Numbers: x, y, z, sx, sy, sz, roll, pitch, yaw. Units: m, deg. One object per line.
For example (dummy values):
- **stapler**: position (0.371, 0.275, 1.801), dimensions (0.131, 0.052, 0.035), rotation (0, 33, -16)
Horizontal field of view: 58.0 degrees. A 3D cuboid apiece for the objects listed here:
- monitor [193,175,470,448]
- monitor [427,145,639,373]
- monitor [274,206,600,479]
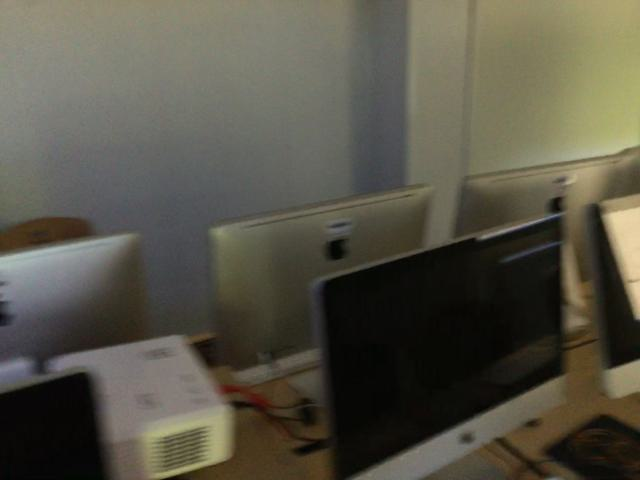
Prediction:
- **monitor**: position (0.040, 0.130, 1.250), dimensions (0.540, 0.440, 0.180), rotation (-11, 22, -23)
- **monitor**: position (0.550, 0.030, 1.440), dimensions (0.540, 0.450, 0.170), rotation (-10, 21, -19)
- **monitor**: position (0.210, 0.190, 0.980), dimensions (0.540, 0.390, 0.130), rotation (-12, 22, -25)
